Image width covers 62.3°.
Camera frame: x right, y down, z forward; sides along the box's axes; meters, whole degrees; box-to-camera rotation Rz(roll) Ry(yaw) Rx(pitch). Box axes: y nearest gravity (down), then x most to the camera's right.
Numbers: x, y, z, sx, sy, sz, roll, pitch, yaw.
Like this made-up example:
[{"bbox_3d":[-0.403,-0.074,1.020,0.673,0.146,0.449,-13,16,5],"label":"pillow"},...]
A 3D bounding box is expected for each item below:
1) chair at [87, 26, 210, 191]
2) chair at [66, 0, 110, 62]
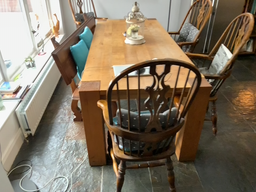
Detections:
[{"bbox_3d":[0.070,0.170,1.490,0.540,1.130,0.630,-2,32,-4],"label":"chair"},{"bbox_3d":[-0.710,-1.280,3.850,0.540,1.100,0.520,-18,36,-27],"label":"chair"}]
